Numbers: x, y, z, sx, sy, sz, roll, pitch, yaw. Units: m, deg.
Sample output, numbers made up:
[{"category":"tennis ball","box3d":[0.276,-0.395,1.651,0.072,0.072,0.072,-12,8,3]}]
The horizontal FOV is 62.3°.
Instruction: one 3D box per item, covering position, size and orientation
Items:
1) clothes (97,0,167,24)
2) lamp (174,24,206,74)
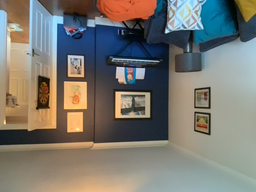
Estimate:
[{"category":"clothes","box3d":[0.020,-0.870,2.010,0.600,0.210,0.330,1,180,-14]},{"category":"lamp","box3d":[0.850,-0.630,2.950,0.300,0.600,0.350,1,180,-12]}]
